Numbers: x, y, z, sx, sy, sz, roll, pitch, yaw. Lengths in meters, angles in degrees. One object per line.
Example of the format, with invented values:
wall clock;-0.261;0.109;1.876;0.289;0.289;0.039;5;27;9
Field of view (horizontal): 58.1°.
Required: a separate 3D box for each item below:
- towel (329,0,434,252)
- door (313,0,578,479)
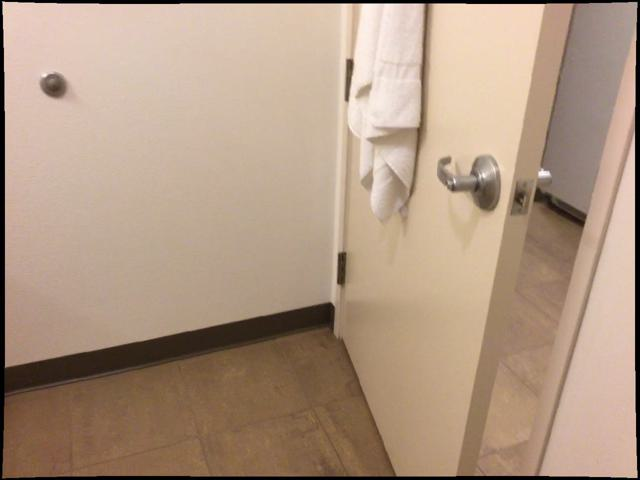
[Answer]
towel;0.120;-0.281;1.280;0.110;0.561;0.230;-10;29;-19
door;0.160;0.000;1.490;0.100;1.293;1.040;-6;28;-13
